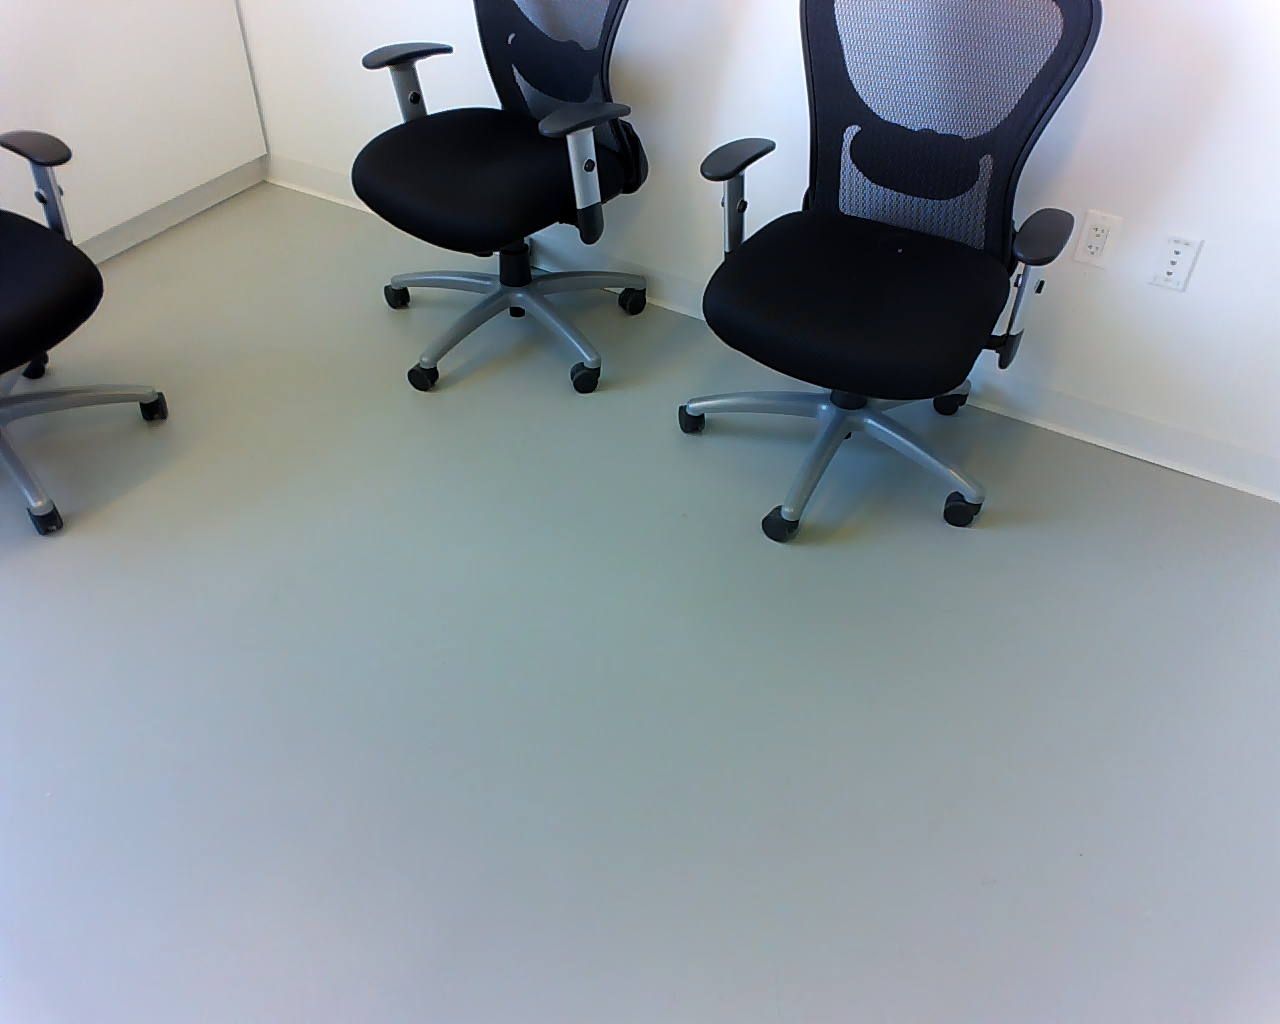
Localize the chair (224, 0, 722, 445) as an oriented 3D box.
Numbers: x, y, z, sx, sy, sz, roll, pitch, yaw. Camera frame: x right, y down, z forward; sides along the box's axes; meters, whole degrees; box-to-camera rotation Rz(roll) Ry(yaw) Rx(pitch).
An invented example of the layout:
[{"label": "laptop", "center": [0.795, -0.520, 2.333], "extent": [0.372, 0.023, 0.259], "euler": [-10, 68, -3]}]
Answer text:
[{"label": "chair", "center": [-0.330, -0.850, 2.420], "extent": [0.780, 1.010, 0.670], "euler": [22, 45, 22]}]

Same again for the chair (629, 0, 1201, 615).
[{"label": "chair", "center": [0.480, -0.520, 2.050], "extent": [0.740, 1.030, 0.710], "euler": [22, 45, 22]}]
